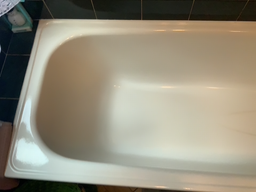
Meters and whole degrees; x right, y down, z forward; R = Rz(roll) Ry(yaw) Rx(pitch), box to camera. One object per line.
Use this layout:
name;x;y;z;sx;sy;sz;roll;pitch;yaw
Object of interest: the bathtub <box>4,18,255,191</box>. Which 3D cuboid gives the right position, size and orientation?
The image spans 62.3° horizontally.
bathtub;0.430;0.120;1.090;1.640;0.650;0.690;3;70;5
